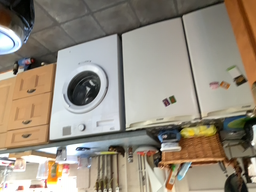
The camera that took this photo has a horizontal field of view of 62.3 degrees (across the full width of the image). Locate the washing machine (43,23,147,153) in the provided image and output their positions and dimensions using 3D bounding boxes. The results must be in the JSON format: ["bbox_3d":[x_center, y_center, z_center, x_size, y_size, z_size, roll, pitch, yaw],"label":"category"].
[{"bbox_3d":[-0.250,-0.010,1.900,0.620,0.900,0.620,-11,157,16],"label":"washing machine"}]
